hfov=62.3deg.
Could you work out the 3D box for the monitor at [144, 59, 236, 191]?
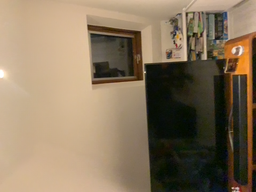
[{"bbox_3d":[0.680,0.370,2.280,0.070,0.930,1.470,-113,19,-85],"label":"monitor"}]
